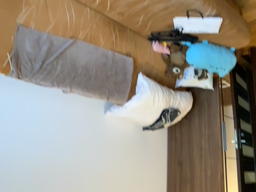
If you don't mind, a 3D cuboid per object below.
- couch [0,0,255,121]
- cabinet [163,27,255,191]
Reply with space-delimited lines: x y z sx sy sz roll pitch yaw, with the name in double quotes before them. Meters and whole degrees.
"couch" -0.020 -0.500 1.580 2.030 0.970 1.040 16 160 -36
"cabinet" 1.190 0.520 2.650 1.510 2.170 0.600 16 160 -36
